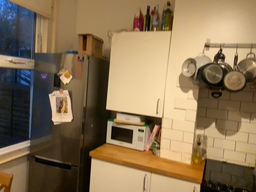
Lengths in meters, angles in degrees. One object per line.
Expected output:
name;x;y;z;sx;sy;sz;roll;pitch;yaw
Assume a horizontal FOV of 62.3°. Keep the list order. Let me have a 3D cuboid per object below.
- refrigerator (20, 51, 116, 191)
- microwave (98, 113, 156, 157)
refrigerator;-0.650;0.490;2.370;0.650;1.840;0.710;7;6;21
microwave;-0.010;0.400;2.310;0.540;0.330;0.280;6;6;21
